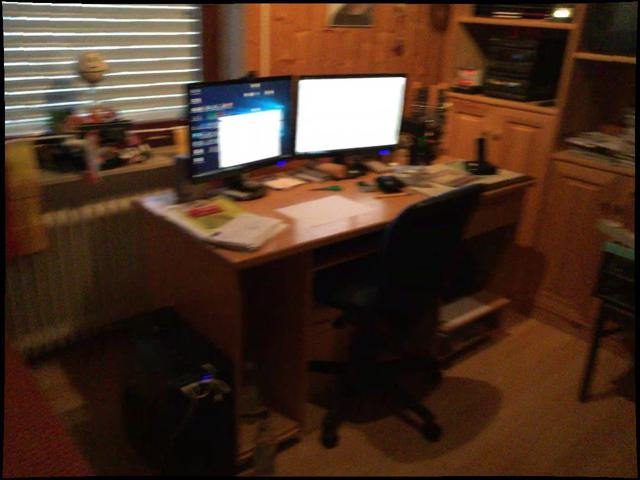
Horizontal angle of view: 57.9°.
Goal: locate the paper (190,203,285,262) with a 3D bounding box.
[{"bbox_3d":[-0.240,-0.030,1.750,0.190,0.050,0.280,9,25,13],"label":"paper"}]
